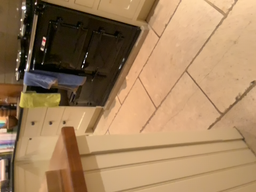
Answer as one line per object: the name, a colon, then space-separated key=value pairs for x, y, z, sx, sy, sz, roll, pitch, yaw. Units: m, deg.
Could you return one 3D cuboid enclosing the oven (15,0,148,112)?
oven: x=-0.550 y=-0.460 z=2.090 sx=1.070 sy=0.890 sz=0.710 roll=-59 pitch=42 yaw=36
